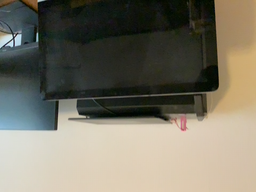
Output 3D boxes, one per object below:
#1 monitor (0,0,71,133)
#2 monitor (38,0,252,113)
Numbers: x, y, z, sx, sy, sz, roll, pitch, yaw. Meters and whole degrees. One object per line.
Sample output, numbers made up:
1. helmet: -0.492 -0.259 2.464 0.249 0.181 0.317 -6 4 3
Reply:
1. monitor: -0.540 -0.120 0.960 0.620 0.550 0.060 -10 166 21
2. monitor: -0.020 -0.220 0.590 0.550 0.460 0.060 -11 166 22
